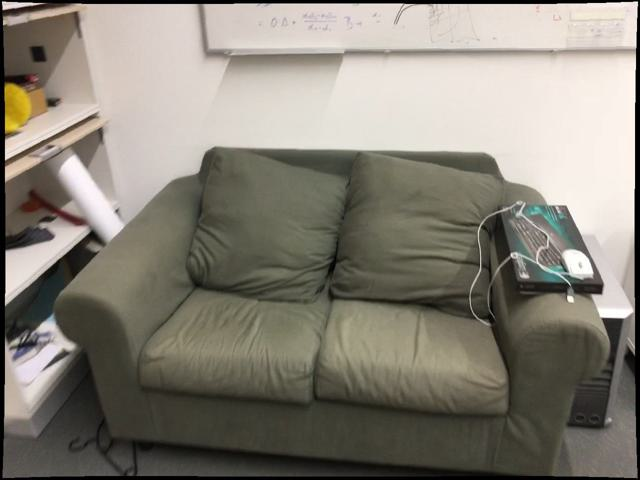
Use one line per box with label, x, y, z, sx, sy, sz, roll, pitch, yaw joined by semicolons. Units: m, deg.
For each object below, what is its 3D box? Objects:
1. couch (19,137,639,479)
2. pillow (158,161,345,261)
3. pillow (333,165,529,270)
couch;0.050;0.160;1.920;1.489;0.741;0.890;1;28;11
pillow;-0.210;-0.090;2.010;0.519;0.240;0.430;2;-11;11
pillow;0.360;-0.060;1.900;0.549;0.240;0.470;2;-9;11
